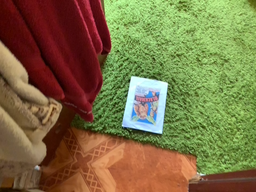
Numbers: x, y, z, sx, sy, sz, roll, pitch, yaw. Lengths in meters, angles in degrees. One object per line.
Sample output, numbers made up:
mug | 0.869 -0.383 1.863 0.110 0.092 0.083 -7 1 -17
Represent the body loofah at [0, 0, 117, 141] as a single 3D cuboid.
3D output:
body loofah | -0.180 -0.220 0.380 0.120 1.320 0.350 32 70 11
